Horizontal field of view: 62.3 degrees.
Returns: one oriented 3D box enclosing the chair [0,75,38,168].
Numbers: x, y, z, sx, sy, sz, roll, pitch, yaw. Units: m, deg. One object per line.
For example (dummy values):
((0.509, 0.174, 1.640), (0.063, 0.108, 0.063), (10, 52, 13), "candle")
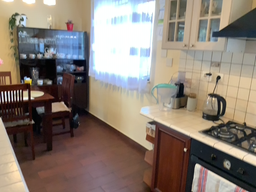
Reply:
((-1.520, 0.280, 2.660), (0.560, 1.010, 0.530), (-7, 17, -36), "chair")
